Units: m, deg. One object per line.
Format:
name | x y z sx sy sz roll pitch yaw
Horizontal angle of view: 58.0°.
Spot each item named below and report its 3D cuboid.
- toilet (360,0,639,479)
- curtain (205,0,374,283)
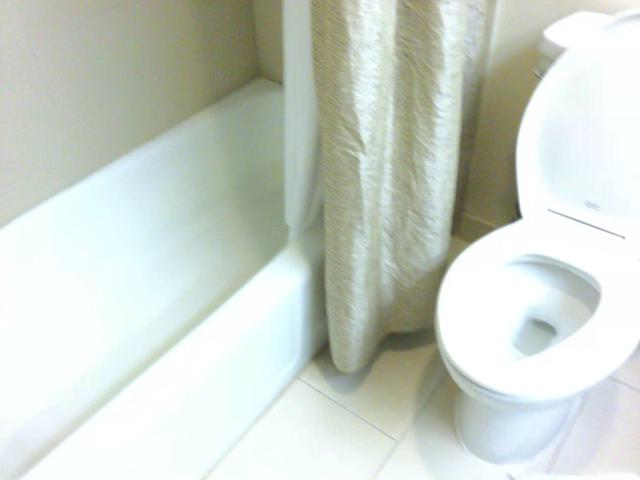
toilet | 0.490 0.030 1.150 0.440 0.860 0.760 25 49 31
curtain | -0.060 -0.400 1.110 0.290 1.080 0.140 25 49 31
